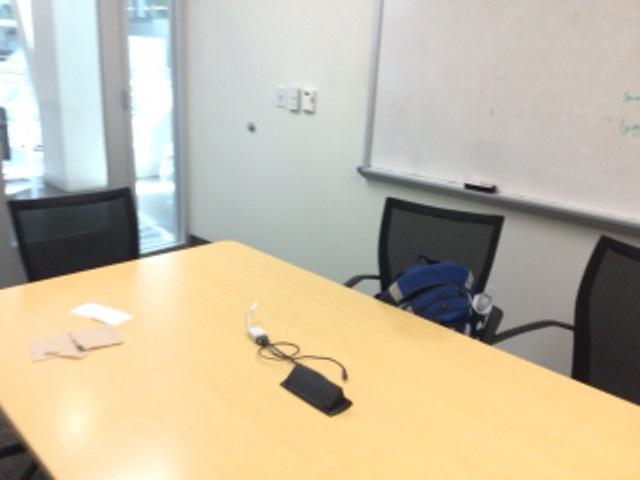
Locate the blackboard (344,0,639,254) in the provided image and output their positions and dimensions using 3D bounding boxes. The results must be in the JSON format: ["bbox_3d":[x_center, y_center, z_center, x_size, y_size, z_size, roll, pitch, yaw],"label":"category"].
[{"bbox_3d":[1.010,-0.620,2.040,2.250,1.230,0.170,21,27,40],"label":"blackboard"}]
